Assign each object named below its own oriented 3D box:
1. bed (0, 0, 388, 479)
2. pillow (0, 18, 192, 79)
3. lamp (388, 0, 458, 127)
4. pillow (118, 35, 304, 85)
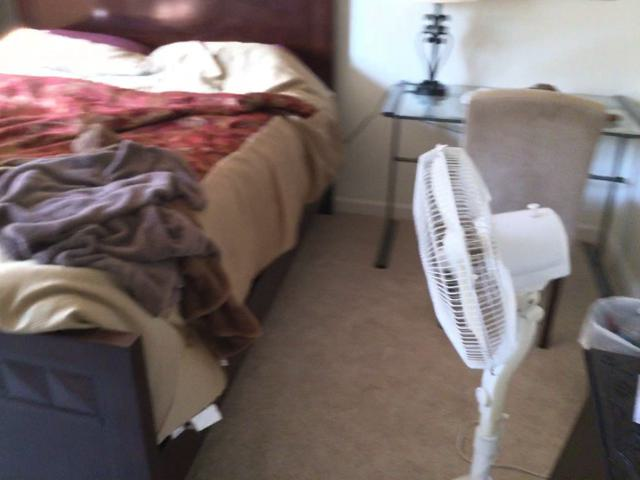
[{"bbox_3d":[-0.900,-0.410,2.030,1.920,1.470,2.160,7,30,13],"label":"bed"},{"bbox_3d":[-1.060,-0.900,2.680,0.780,0.160,0.450,7,30,13],"label":"pillow"},{"bbox_3d":[0.450,-0.880,2.480,0.230,0.690,0.340,7,30,13],"label":"lamp"},{"bbox_3d":[-0.470,-0.820,2.600,0.710,0.110,0.410,7,30,13],"label":"pillow"}]
